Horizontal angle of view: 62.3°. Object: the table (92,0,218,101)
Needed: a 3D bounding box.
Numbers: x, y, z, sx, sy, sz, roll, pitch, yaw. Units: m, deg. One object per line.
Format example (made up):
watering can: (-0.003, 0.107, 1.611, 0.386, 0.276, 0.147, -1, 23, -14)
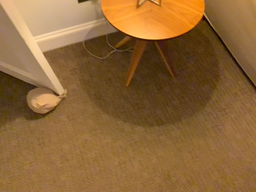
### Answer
table: (0.100, -0.360, 1.250, 0.470, 0.510, 0.480, -19, 65, -10)
